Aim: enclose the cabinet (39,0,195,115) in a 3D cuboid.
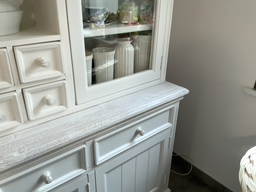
[{"bbox_3d":[-0.030,-0.570,0.990,0.670,1.110,0.380,-19,33,-35],"label":"cabinet"}]
